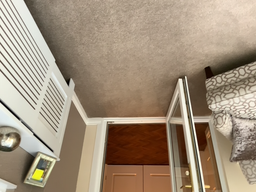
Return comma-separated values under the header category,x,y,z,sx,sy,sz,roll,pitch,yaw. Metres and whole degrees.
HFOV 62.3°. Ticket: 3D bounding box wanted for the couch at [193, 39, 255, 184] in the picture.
category,x,y,z,sx,sy,sz,roll,pitch,yaw
couch,1.210,0.170,1.870,0.800,0.890,0.960,-21,140,30
